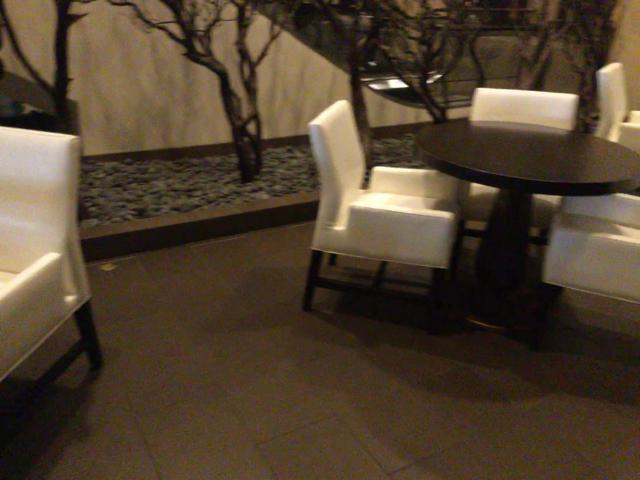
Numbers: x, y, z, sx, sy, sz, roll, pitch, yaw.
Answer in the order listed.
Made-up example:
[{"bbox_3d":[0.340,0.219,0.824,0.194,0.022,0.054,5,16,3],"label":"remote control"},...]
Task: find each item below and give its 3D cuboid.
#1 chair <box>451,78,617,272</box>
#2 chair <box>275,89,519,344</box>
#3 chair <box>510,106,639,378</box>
[{"bbox_3d":[1.010,-0.360,2.870,0.610,0.770,0.660,5,24,15],"label":"chair"},{"bbox_3d":[0.360,-0.160,2.550,0.880,0.870,0.700,6,24,16],"label":"chair"},{"bbox_3d":[1.220,-0.020,2.250,0.690,0.830,0.670,12,27,28],"label":"chair"}]
